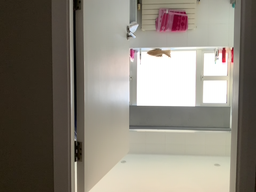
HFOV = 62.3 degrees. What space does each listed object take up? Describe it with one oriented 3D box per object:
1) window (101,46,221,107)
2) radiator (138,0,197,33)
[{"bbox_3d":[0.520,-0.310,3.480,1.910,0.980,0.080,0,-177,3],"label":"window"},{"bbox_3d":[0.580,-1.260,3.170,0.870,0.580,0.110,0,-177,3],"label":"radiator"}]
